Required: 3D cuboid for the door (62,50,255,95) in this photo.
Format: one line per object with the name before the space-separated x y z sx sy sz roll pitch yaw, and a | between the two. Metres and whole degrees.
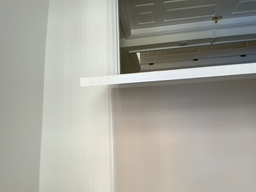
door | 0.840 -0.190 1.170 0.910 2.120 0.110 -45 -50 -79
